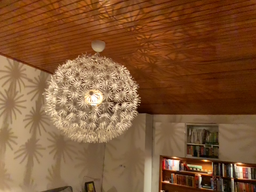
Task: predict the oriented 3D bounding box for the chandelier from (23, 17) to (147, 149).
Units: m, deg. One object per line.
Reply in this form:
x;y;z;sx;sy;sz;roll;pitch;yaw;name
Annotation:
-0.340;-0.030;2.200;0.820;1.050;0.910;-2;168;22;chandelier
